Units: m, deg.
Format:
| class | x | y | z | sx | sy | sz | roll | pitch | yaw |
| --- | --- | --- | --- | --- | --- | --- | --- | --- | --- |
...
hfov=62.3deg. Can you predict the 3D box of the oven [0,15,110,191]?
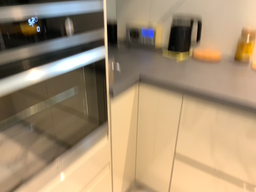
| class | x | y | z | sx | sy | sz | roll | pitch | yaw |
| --- | --- | --- | --- | --- | --- | --- | --- | --- | --- |
| oven | -0.460 | 0.000 | 0.790 | 0.480 | 0.470 | 0.640 | 18 | 33 | 29 |
